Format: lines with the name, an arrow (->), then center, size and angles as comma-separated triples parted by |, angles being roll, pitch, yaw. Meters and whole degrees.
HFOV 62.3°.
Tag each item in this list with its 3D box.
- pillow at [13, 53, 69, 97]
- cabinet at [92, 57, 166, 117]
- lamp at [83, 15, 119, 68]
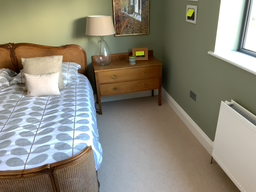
pillow -> -1.040, -0.300, 2.680 | 0.480, 0.290, 0.720 | -5, 26, -7
cabinet -> 0.000, -0.170, 3.320 | 1.020, 0.690, 0.500 | -7, 26, -11
lamp -> -0.380, -0.790, 3.040 | 0.420, 0.660, 0.320 | -7, 26, -11
